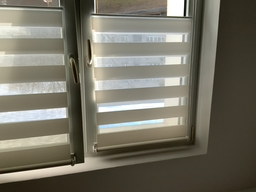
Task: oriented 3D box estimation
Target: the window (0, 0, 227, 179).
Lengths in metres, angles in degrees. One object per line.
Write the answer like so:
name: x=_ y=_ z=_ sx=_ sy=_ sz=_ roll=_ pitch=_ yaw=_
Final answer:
window: x=-0.220 y=-0.190 z=1.080 sx=1.530 sy=1.140 sz=0.140 roll=-3 pitch=-167 yaw=-15
